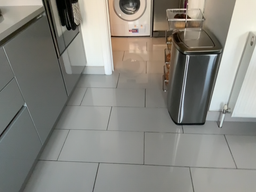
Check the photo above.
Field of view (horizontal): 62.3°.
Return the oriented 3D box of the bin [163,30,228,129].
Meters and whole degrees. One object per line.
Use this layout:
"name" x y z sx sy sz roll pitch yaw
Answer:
"bin" 0.480 -0.120 1.680 0.350 0.680 0.350 3 37 7
